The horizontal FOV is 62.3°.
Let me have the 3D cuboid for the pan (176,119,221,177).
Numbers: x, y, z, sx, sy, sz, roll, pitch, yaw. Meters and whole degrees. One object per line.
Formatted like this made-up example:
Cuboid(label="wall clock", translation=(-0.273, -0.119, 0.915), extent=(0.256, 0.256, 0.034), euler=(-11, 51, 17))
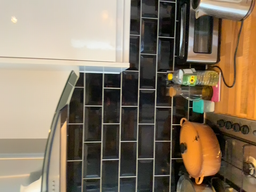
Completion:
Cuboid(label="pan", translation=(0.360, 0.260, 1.110), extent=(0.190, 0.140, 0.250), euler=(-169, 81, -80))
